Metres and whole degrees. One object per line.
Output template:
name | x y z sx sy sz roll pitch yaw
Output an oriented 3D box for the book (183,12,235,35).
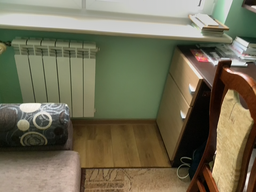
book | 0.540 -0.500 1.450 0.240 0.060 0.260 1 35 -11
